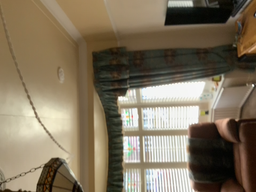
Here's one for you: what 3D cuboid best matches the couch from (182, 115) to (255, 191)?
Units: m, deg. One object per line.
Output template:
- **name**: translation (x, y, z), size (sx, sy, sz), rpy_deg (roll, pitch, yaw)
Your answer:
- **couch**: translation (1.360, 0.840, 2.890), size (1.020, 0.970, 1.090), rpy_deg (40, -133, -84)
